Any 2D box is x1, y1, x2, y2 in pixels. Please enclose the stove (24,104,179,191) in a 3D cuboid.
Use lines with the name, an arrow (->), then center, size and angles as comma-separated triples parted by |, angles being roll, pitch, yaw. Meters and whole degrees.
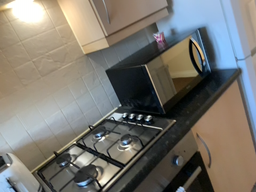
stove -> -0.150, 0.230, 1.030 | 0.600, 0.040, 0.560 | -37, 23, -31

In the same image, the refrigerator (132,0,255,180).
refrigerator -> 0.670, -0.310, 1.590 | 0.590, 1.810, 0.660 | -37, 23, -31
